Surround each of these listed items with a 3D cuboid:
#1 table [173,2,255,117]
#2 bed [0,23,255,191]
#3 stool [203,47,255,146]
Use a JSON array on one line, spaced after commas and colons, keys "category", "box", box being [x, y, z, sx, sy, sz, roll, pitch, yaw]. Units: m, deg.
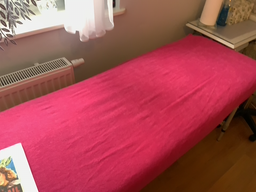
[{"category": "table", "box": [0.850, -0.330, 1.900, 0.570, 0.770, 0.460, -25, 50, -29]}, {"category": "bed", "box": [0.050, 0.250, 1.210, 1.840, 0.740, 0.630, -27, 51, -30]}, {"category": "stool", "box": [1.070, -0.020, 1.780, 0.530, 0.500, 0.490, -25, 50, -29]}]
